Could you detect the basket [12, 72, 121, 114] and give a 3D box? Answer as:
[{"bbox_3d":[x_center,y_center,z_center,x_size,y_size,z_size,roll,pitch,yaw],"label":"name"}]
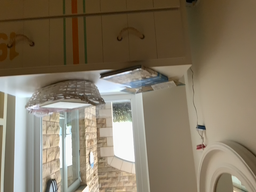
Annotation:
[{"bbox_3d":[-0.340,0.010,1.230,0.440,0.140,0.410,-9,170,27],"label":"basket"}]
